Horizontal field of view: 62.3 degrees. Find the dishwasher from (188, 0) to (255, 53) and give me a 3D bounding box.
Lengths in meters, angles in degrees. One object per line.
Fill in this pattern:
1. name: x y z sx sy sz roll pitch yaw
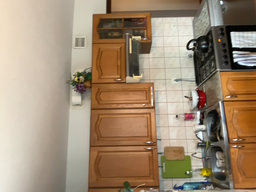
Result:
1. dishwasher: 1.250 -0.870 2.570 0.610 0.830 0.450 91 178 -76
